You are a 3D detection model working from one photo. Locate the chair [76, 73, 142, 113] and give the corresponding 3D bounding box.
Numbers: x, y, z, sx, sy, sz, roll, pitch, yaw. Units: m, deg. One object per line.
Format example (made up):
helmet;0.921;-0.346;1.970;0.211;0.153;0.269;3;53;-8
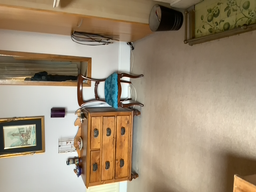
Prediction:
chair;-0.290;-0.070;3.060;0.520;0.820;0.500;-167;77;-66
